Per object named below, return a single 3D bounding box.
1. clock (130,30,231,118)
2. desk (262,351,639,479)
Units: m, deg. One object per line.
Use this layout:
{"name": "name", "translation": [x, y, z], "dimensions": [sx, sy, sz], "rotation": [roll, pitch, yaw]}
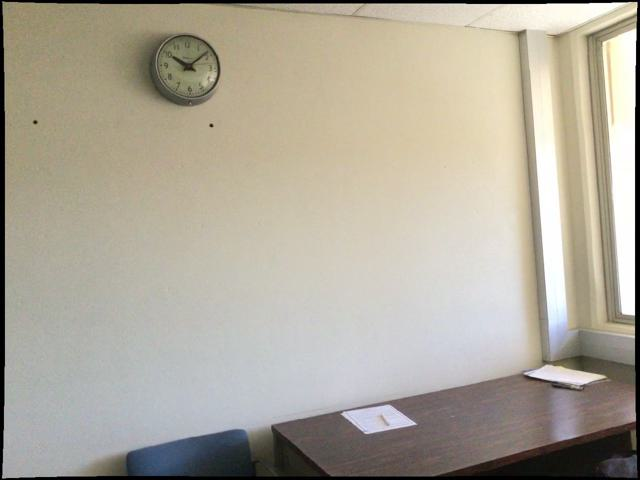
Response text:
{"name": "clock", "translation": [-0.559, -0.672, 2.320], "dimensions": [0.349, 0.321, 0.080], "rotation": [-8, 3, -21]}
{"name": "desk", "translation": [0.658, 1.013, 2.300], "dimensions": [1.537, 0.692, 0.830], "rotation": [-8, 3, -21]}
